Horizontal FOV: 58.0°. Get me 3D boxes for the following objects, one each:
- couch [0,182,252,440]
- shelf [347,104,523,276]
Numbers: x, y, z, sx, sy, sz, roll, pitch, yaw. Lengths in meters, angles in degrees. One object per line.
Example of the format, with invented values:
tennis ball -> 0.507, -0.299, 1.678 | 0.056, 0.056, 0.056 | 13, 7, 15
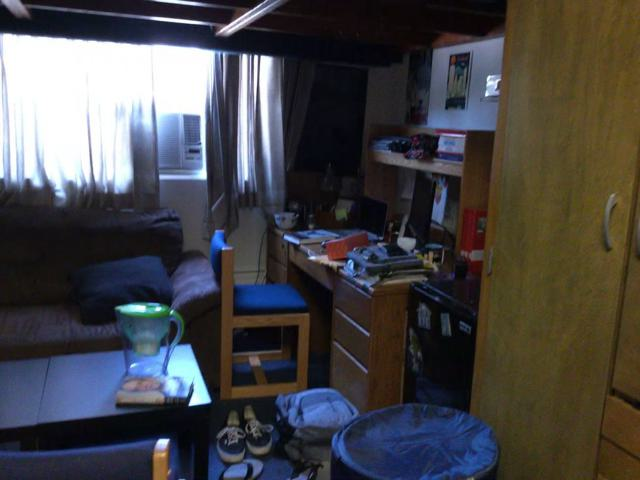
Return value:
couch -> -1.470, 0.260, 2.880 | 2.030, 1.030, 1.040 | -1, 9, -21
shelf -> 0.560, -0.310, 3.230 | 0.350, 0.780, 1.170 | -1, 9, -21
